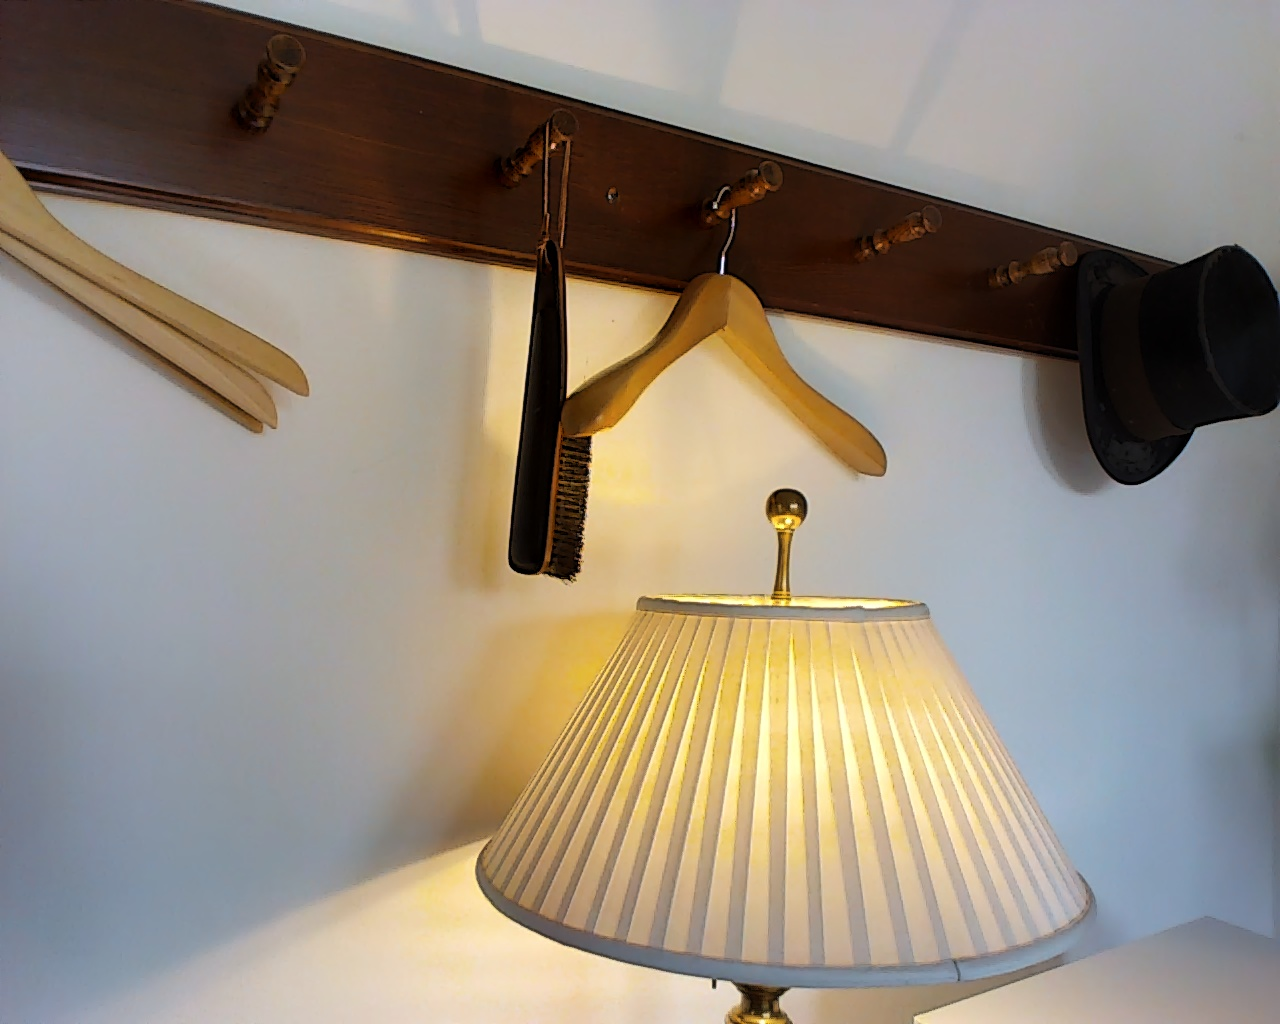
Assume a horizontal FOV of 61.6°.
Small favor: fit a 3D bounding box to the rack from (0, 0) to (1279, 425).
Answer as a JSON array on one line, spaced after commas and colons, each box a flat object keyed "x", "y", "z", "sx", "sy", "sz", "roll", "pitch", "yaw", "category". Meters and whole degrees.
[{"x": 0.010, "y": -0.250, "z": 0.950, "sx": 2.060, "sy": 0.210, "sz": 0.070, "roll": 1, "pitch": -1, "yaw": -33, "category": "rack"}]
